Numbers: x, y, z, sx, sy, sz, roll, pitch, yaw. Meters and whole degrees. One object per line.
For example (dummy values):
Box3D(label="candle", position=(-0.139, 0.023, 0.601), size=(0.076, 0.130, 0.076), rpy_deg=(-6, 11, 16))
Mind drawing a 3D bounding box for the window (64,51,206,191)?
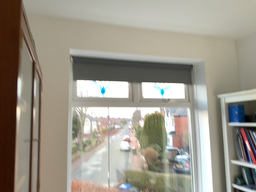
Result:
Box3D(label="window", position=(0.070, 0.400, 2.210), size=(1.410, 1.590, 0.310), rpy_deg=(0, -6, -17))
